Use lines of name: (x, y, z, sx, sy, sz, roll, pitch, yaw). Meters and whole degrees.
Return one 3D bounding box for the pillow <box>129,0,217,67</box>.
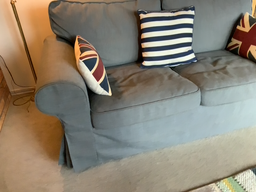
pillow: (0.300, -0.460, 1.470, 0.450, 0.400, 0.150, 11, 28, -22)
